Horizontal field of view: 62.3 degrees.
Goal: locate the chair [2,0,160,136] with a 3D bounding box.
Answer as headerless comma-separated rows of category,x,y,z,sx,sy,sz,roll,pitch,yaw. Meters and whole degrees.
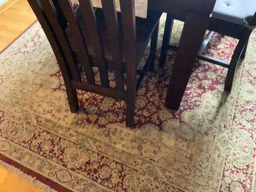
chair,-0.120,-0.340,1.000,0.430,1.030,0.560,14,56,11
